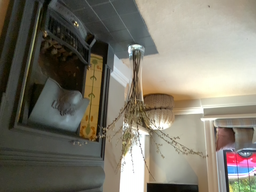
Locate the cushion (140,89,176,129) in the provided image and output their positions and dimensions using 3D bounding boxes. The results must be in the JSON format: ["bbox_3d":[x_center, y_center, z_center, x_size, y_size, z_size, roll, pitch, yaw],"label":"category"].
[{"bbox_3d":[0.470,0.220,3.230,0.400,0.480,0.530,-5,161,22],"label":"cushion"}]

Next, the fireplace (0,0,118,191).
[{"bbox_3d":[-0.510,0.040,1.360,0.360,1.370,1.250,-4,162,20],"label":"fireplace"}]
